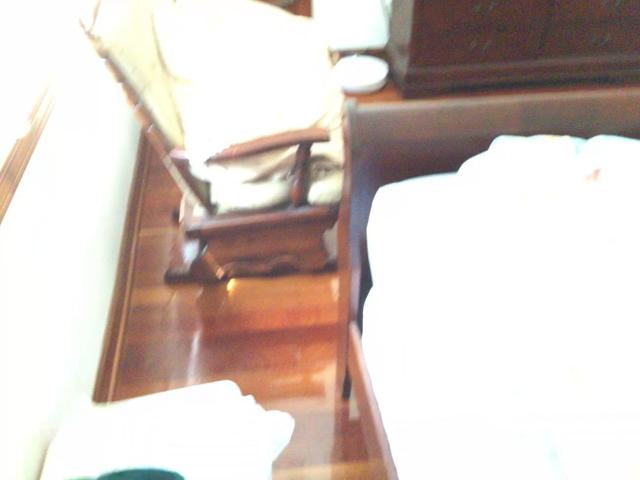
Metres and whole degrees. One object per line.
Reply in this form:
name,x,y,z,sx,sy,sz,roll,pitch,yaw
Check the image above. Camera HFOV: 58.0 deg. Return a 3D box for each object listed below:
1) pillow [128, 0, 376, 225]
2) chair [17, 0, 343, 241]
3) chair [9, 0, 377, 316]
pillow,-0.190,-0.460,1.820,0.610,0.520,0.600,-5,39,-4
chair,-0.440,-0.690,2.280,0.950,1.000,0.850,-5,39,-4
chair,-0.300,-0.350,1.840,0.820,0.950,0.620,-5,39,-4
